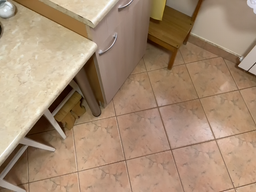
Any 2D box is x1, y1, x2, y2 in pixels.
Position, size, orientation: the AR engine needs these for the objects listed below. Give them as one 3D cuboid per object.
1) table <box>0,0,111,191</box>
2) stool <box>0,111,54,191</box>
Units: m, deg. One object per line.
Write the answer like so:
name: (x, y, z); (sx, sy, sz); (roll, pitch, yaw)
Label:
table: (-0.640, 0.200, 1.030); (0.590, 0.740, 1.020); (29, 69, 12)
stool: (-0.700, 0.280, 1.140); (0.330, 0.470, 0.310); (30, 69, 13)
